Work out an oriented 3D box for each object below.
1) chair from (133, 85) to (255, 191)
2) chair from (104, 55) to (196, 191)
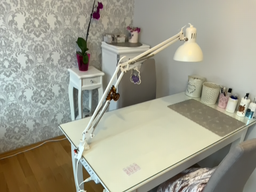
[{"bbox_3d":[0.380,0.510,1.220,0.490,0.990,0.500,-8,27,-27],"label":"chair"},{"bbox_3d":[0.130,0.210,1.840,0.470,0.990,0.500,-11,29,-32],"label":"chair"}]
